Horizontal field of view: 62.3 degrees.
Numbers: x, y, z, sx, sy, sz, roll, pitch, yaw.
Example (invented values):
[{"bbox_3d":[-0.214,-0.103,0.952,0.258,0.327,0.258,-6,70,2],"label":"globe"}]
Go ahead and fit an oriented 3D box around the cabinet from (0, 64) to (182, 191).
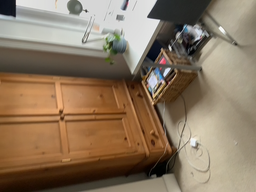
[{"bbox_3d":[-0.610,0.330,2.190,0.640,2.000,1.090,-57,42,45],"label":"cabinet"}]
